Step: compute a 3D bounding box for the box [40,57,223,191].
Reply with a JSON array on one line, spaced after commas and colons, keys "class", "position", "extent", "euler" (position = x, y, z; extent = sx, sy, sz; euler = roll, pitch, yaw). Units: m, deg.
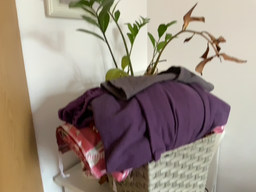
[{"class": "box", "position": [0.050, 0.060, 0.890], "extent": [0.540, 0.390, 0.510], "euler": [8, 17, 31]}]
